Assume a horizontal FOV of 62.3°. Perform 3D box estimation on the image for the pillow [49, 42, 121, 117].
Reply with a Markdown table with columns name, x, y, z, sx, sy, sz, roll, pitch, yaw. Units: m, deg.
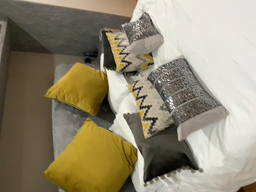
| name | x | y | z | sx | sy | sz | roll | pitch | yaw |
| --- | --- | --- | --- | --- | --- | --- | --- | --- | --- |
| pillow | -0.400 | -0.150 | 1.920 | 0.470 | 0.180 | 0.460 | -43 | 62 | 5 |

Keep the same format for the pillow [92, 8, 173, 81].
| name | x | y | z | sx | sy | sz | roll | pitch | yaw |
| --- | --- | --- | --- | --- | --- | --- | --- | --- | --- |
| pillow | 0.050 | -0.440 | 1.720 | 0.520 | 0.540 | 0.230 | 23 | 120 | -9 |

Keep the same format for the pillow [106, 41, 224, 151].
| name | x | y | z | sx | sy | sz | roll | pitch | yaw |
| --- | --- | --- | --- | --- | --- | --- | --- | --- | --- |
| pillow | 0.230 | -0.040 | 1.230 | 0.530 | 0.420 | 0.240 | 36 | 125 | 10 |

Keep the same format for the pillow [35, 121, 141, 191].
| name | x | y | z | sx | sy | sz | roll | pitch | yaw |
| --- | --- | --- | --- | --- | --- | --- | --- | --- | --- |
| pillow | -0.240 | 0.400 | 1.450 | 0.490 | 0.510 | 0.210 | 26 | 88 | 25 |
